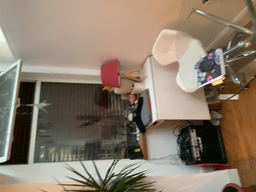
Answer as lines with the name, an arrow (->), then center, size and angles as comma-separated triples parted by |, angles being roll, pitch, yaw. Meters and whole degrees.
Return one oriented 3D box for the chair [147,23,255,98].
chair -> 0.650, -0.300, 2.040 | 0.460, 0.790, 0.490 | 122, 147, -63
